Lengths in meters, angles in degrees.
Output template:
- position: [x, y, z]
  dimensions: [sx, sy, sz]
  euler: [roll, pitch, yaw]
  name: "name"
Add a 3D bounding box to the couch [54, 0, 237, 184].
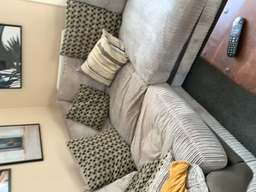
- position: [0.040, -0.750, 1.800]
  dimensions: [1.220, 0.820, 2.940]
  euler: [55, 137, 44]
  name: "couch"
